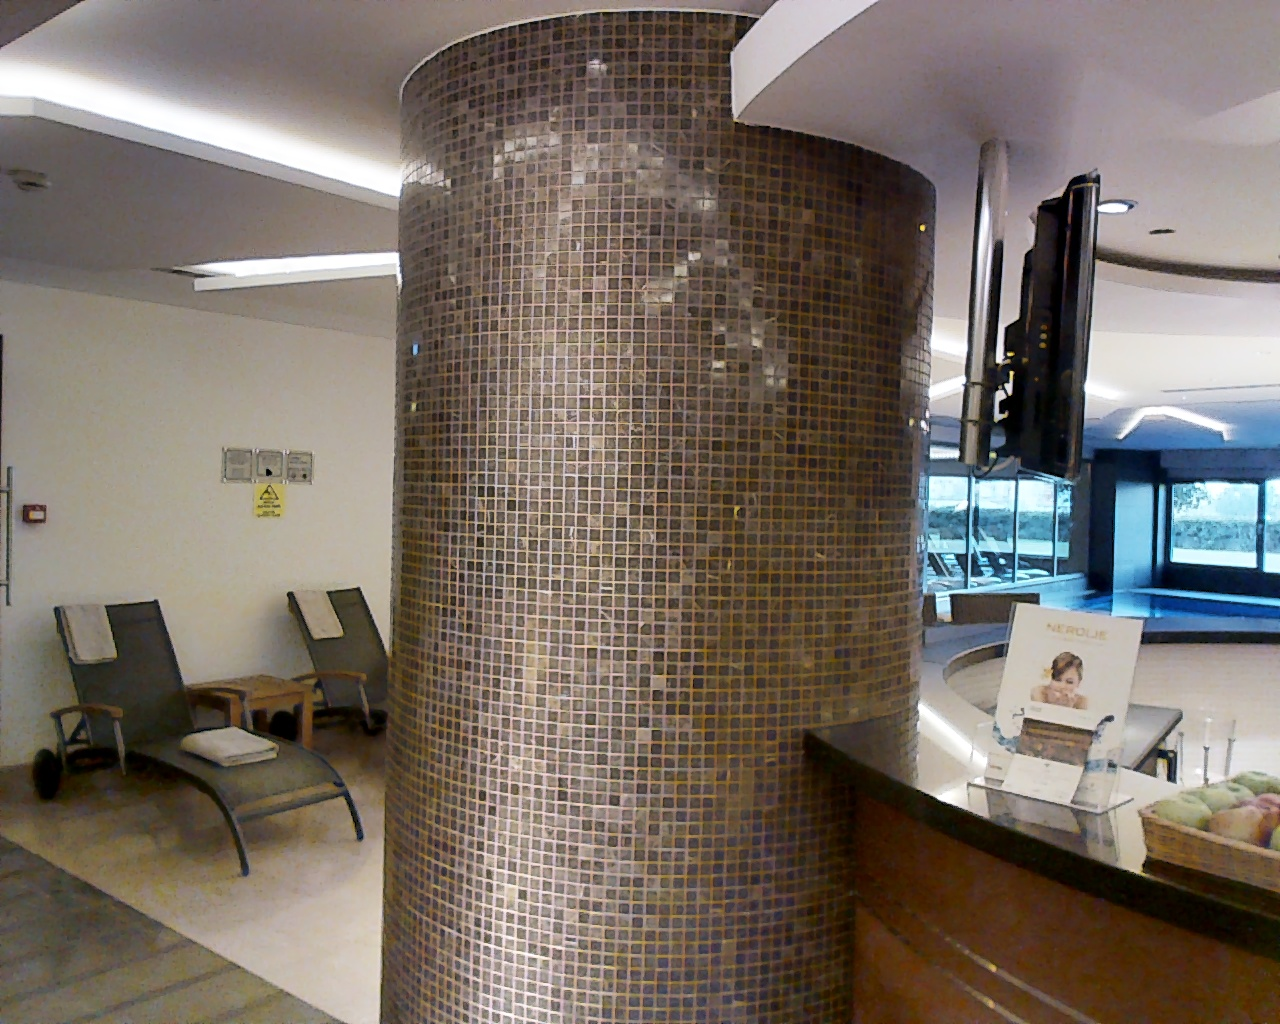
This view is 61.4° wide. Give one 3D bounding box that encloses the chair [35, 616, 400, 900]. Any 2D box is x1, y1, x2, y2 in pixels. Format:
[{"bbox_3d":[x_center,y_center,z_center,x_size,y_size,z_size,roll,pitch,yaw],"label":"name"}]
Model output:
[{"bbox_3d":[-2.020,1.040,5.040,1.790,0.910,0.770,1,0,38],"label":"chair"}]
